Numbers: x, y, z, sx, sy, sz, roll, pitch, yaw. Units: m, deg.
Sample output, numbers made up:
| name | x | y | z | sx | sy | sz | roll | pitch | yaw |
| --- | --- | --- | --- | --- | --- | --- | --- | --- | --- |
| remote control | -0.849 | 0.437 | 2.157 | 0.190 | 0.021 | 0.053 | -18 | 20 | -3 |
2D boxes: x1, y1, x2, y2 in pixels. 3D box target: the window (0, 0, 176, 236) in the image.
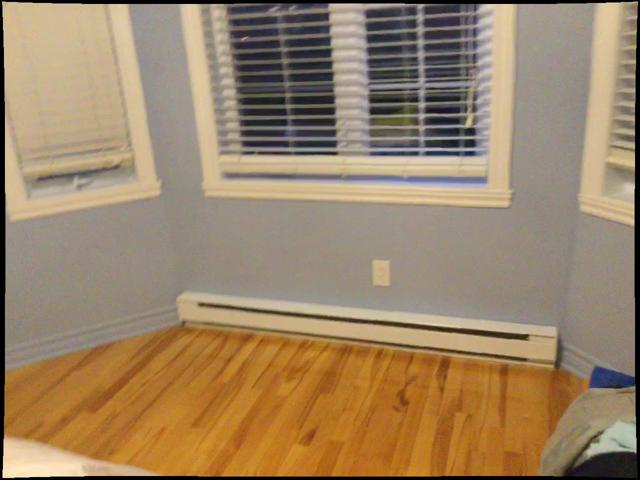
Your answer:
| name | x | y | z | sx | sy | sz | roll | pitch | yaw |
| --- | --- | --- | --- | --- | --- | --- | --- | --- | --- |
| window | -1.089 | -0.811 | 2.290 | 0.579 | 1.471 | 0.520 | 3 | 22 | 21 |

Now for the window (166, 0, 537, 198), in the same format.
| name | x | y | z | sx | sy | sz | roll | pitch | yaw |
| --- | --- | --- | --- | --- | --- | --- | --- | --- | --- |
| window | 0.080 | -0.851 | 2.180 | 1.379 | 1.331 | 0.230 | 3 | 22 | 21 |

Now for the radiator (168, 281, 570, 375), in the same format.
| name | x | y | z | sx | sy | sz | roll | pitch | yaw |
| --- | --- | --- | --- | --- | --- | --- | --- | --- | --- |
| radiator | 0.120 | 0.350 | 2.470 | 1.728 | 0.180 | 0.110 | 3 | 22 | 21 |
